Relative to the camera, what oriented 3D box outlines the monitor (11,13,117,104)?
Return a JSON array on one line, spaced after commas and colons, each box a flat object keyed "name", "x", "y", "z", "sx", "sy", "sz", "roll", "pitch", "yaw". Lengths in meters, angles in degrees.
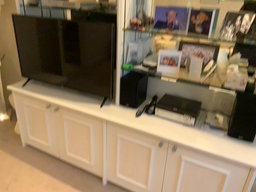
[{"name": "monitor", "x": -0.540, "y": -0.320, "z": 1.750, "sx": 0.970, "sy": 0.610, "sz": 0.040, "roll": 13, "pitch": 28, "yaw": 20}]
